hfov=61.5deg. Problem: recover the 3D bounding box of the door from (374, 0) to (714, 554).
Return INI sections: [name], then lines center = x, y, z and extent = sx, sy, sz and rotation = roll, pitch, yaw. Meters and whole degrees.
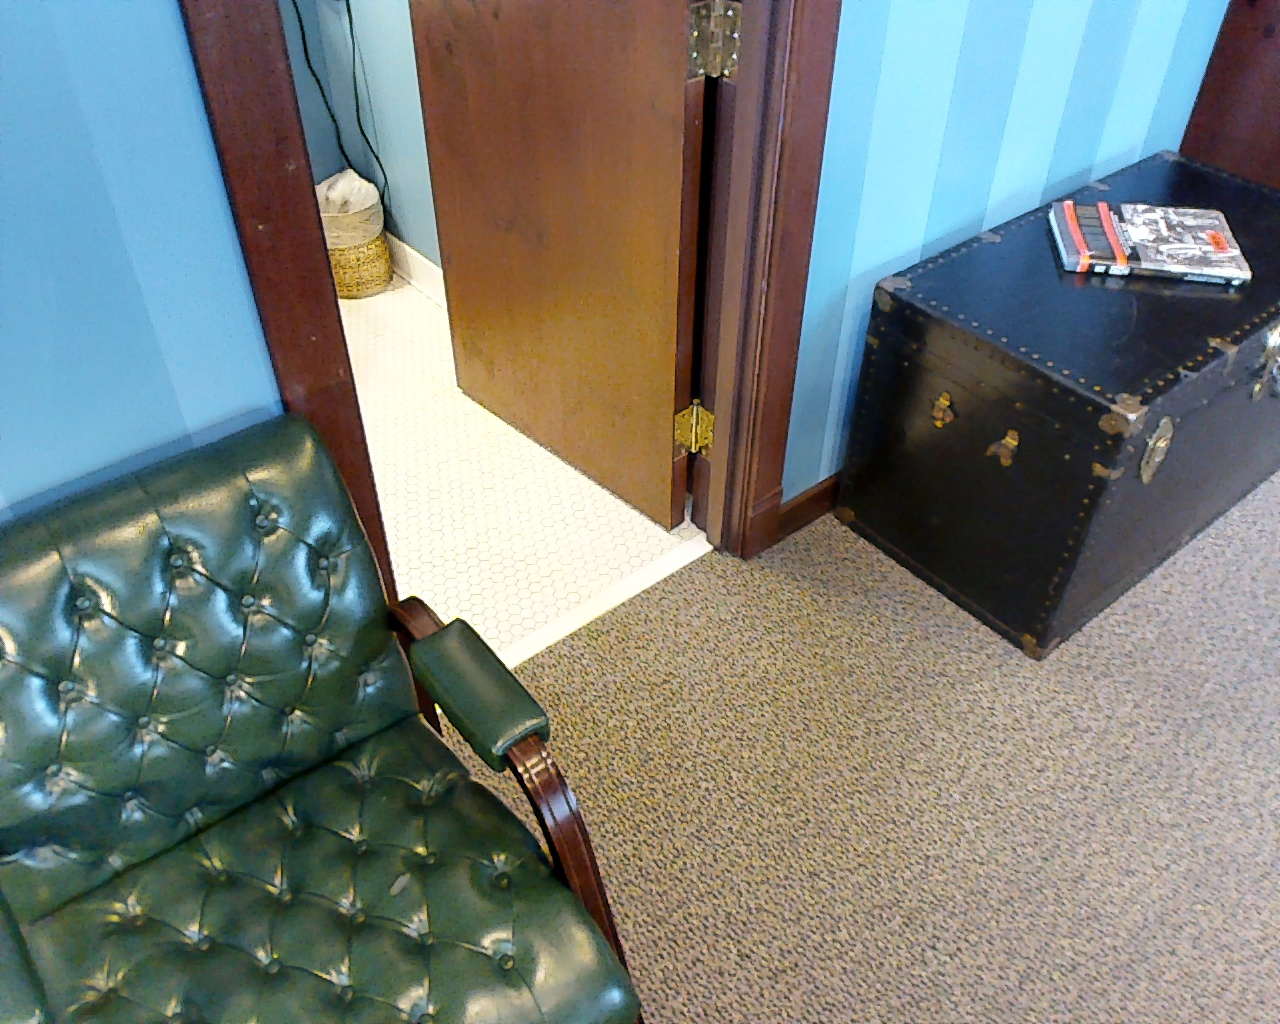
[door]
center = -0.210, -0.890, 1.870
extent = 0.860, 2.040, 0.040
rotation = 34, 51, 32
